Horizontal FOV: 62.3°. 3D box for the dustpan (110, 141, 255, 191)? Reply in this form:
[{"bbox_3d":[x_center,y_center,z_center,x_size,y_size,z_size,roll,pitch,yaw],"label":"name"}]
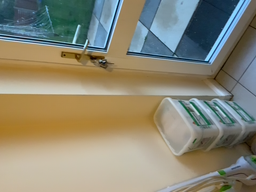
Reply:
[{"bbox_3d":[0.430,0.350,0.950,0.180,1.020,0.150,62,140,39],"label":"dustpan"}]

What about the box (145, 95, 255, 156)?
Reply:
[{"bbox_3d":[0.440,0.150,1.270,0.280,0.600,0.170,61,139,40],"label":"box"}]
